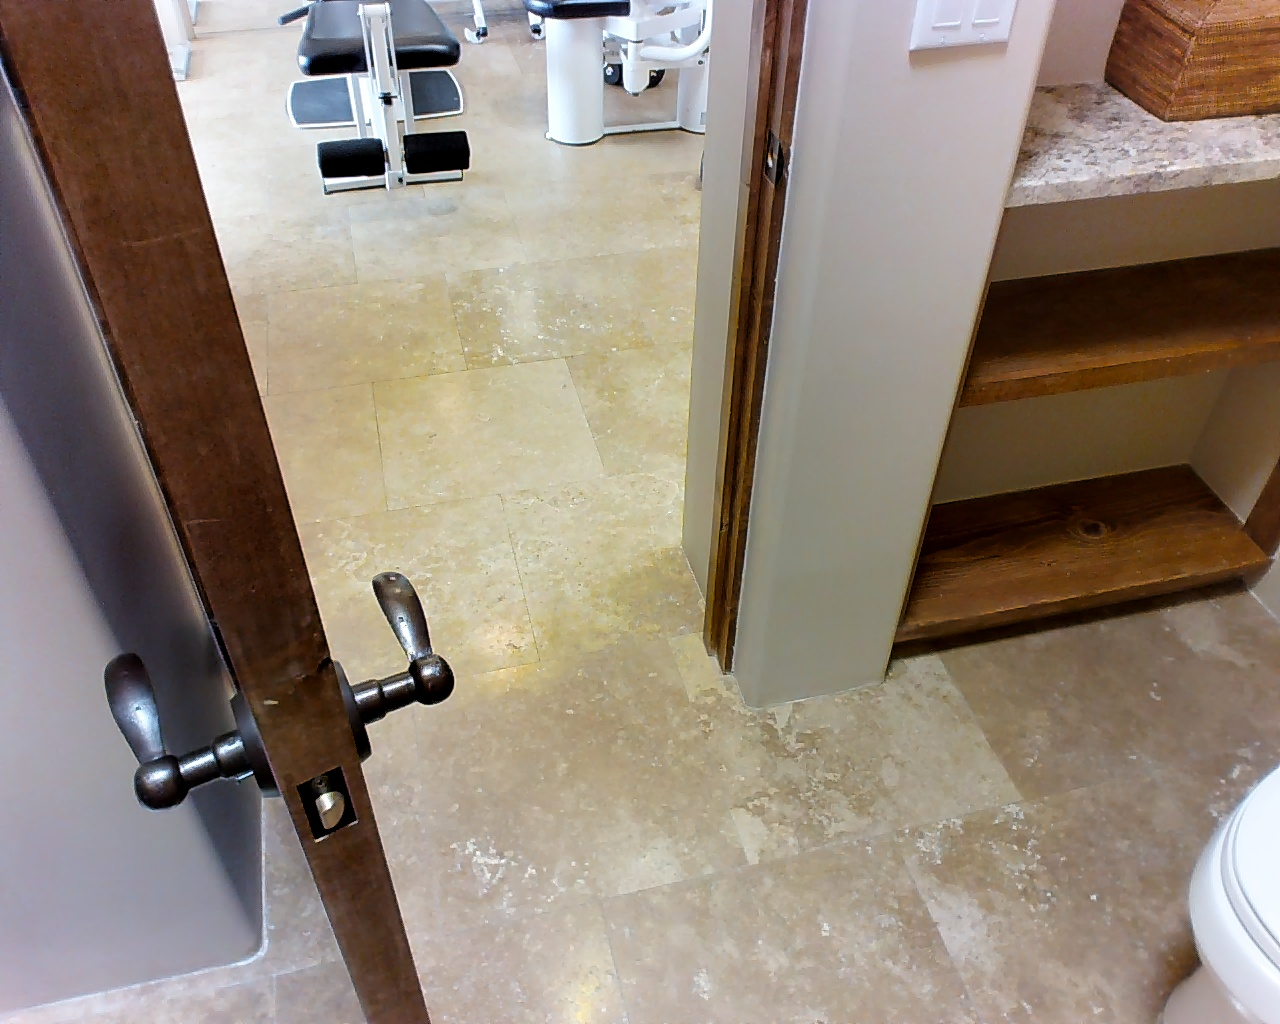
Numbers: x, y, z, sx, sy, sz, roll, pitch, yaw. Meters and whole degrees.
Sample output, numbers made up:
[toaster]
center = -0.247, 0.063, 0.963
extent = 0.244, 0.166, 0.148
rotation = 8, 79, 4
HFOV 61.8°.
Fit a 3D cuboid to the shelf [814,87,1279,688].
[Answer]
[shelf]
center = 0.760, -0.180, 1.740
extent = 0.790, 0.860, 0.310
rotation = -9, 43, -11
